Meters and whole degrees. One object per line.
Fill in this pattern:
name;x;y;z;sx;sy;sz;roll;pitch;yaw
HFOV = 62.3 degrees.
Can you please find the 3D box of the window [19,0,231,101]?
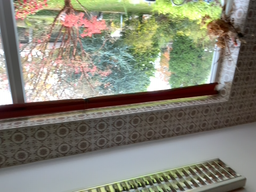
window;0.050;-0.480;1.920;1.770;0.880;0.240;-5;-158;-18
